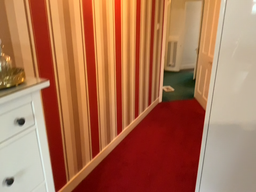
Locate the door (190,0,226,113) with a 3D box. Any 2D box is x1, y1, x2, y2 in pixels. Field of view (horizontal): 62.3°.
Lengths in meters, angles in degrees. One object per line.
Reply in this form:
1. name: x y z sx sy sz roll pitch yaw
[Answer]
1. door: 1.360 -0.770 3.750 0.100 1.930 0.940 1 20 1
